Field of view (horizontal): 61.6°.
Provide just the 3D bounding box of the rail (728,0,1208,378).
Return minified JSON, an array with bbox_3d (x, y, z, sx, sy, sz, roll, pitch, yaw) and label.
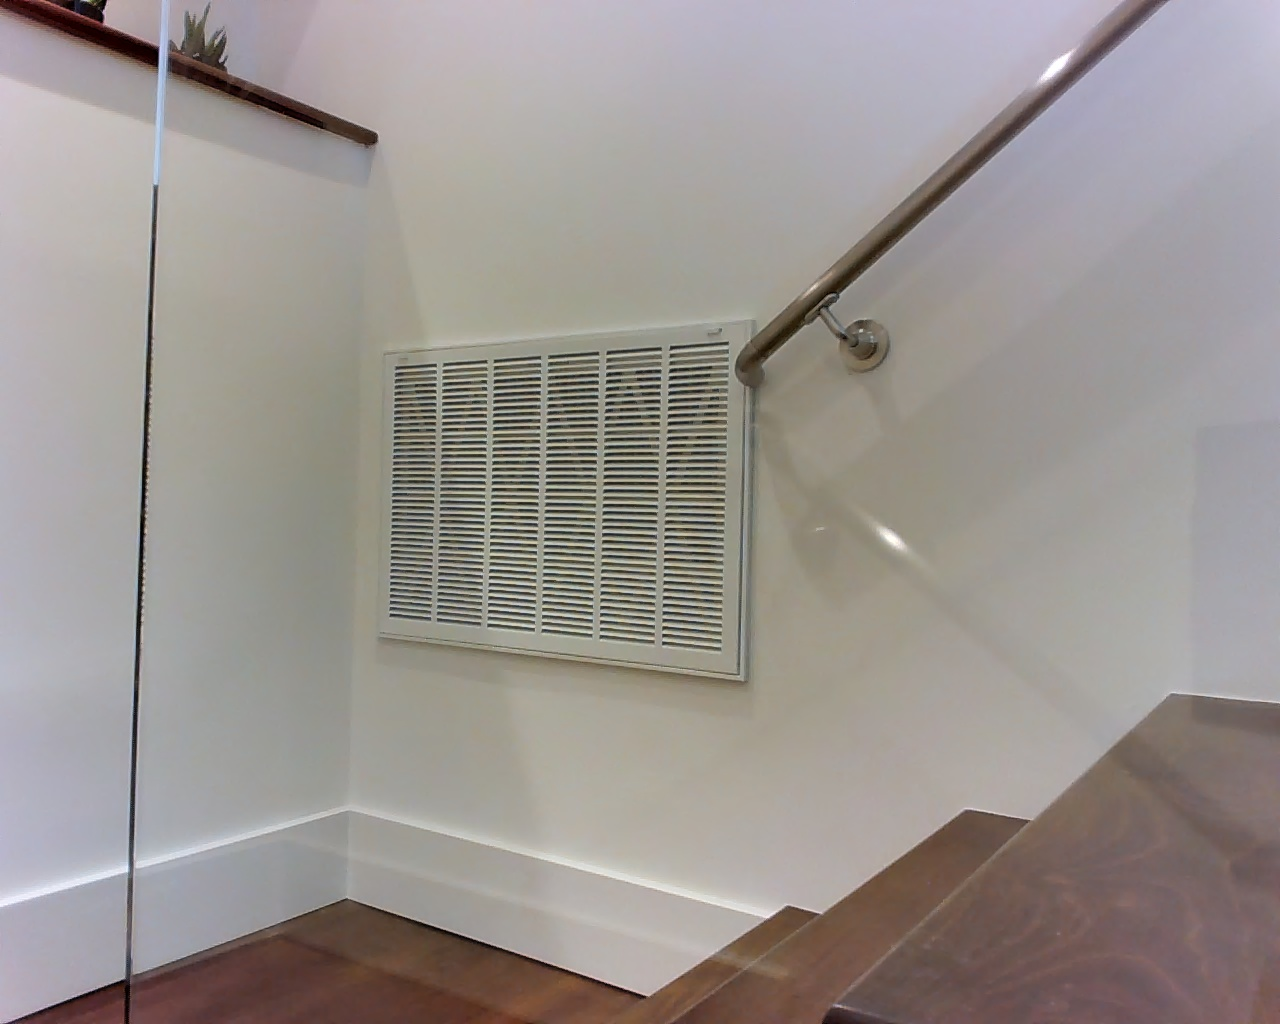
[{"bbox_3d":[0.420,-0.440,1.480,0.630,0.470,0.070,1,0,34],"label":"rail"}]
